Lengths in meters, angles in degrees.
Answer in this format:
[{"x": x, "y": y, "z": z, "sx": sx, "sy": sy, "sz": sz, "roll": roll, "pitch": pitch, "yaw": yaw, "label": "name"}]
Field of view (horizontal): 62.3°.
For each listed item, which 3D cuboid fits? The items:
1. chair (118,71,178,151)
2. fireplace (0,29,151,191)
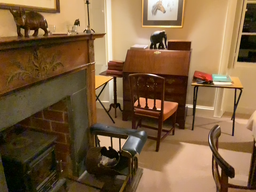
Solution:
[{"x": 0.260, "y": 0.150, "z": 2.660, "sx": 0.570, "sy": 0.790, "sz": 0.540, "roll": 8, "pitch": 21, "yaw": 22, "label": "chair"}, {"x": -0.690, "y": 0.230, "z": 1.570, "sx": 1.380, "sy": 1.320, "sz": 1.580, "roll": 6, "pitch": 20, "yaw": 16, "label": "fireplace"}]
